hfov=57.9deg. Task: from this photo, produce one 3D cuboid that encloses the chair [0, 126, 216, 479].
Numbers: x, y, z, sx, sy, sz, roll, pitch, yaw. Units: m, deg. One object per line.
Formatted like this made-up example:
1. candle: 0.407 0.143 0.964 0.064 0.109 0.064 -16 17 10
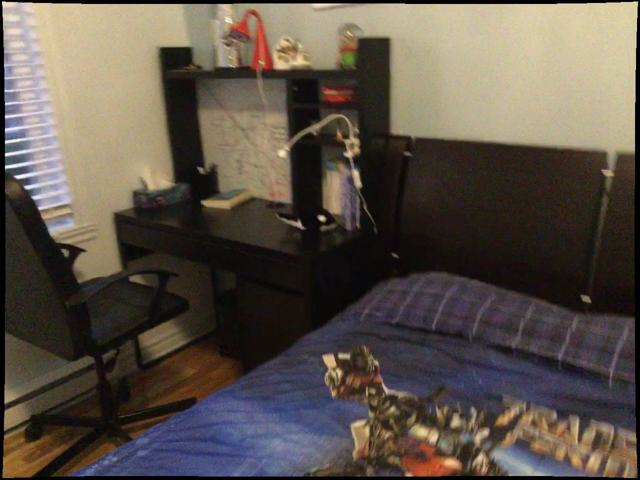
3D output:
1. chair: -0.829 0.160 1.920 0.690 0.951 0.530 12 24 33
